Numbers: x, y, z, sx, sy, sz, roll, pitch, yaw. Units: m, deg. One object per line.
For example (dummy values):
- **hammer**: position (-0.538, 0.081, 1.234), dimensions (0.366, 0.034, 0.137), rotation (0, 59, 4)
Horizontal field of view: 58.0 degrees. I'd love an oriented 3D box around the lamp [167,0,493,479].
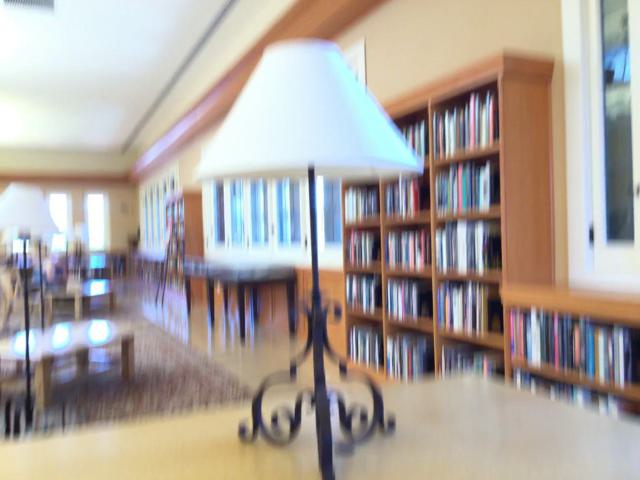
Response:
- **lamp**: position (-0.020, -0.020, 1.200), dimensions (0.480, 0.860, 0.510), rotation (-2, 0, -22)
